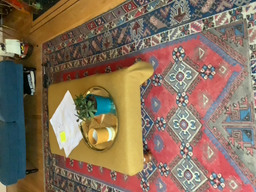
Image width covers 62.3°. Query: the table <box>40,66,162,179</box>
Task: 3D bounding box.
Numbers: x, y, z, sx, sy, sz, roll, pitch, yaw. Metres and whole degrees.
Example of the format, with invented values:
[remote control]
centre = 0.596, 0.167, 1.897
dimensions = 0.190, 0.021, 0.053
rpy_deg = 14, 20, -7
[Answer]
[table]
centre = -0.300, 0.180, 1.740
dimensions = 1.120, 0.350, 0.650
rpy_deg = -4, 87, 44
